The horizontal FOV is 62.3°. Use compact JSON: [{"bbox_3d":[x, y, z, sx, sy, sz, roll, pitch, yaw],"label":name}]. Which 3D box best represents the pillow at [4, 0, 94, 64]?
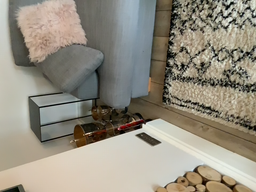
[{"bbox_3d":[-0.590,-0.520,1.670,0.210,0.480,0.440,-35,88,28],"label":"pillow"}]
